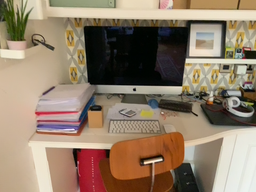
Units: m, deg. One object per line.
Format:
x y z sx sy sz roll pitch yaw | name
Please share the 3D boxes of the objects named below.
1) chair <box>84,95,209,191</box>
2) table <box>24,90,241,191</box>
0.040 0.530 1.320 0.490 0.890 0.570 -6 23 -18 | chair
0.020 0.490 1.490 1.030 0.830 0.720 2 22 2 | table
